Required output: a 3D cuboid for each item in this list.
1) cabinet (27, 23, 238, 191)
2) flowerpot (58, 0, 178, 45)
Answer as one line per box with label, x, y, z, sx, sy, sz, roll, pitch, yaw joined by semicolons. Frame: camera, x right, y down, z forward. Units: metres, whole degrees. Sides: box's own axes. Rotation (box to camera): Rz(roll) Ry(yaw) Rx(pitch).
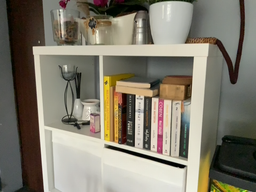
cabinet;0.020;0.480;1.060;0.790;1.500;0.470;6;12;28
flowerpot;-0.050;-0.550;1.050;0.540;0.560;0.270;6;12;27
